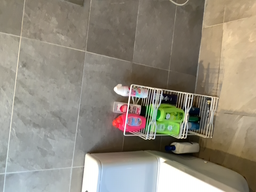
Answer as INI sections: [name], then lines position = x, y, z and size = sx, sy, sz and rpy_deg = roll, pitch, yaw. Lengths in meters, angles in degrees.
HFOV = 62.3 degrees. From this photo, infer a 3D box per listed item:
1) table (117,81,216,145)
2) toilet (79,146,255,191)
[table]
position = 0.260, 0.110, 1.310
size = 0.190, 0.610, 0.320
rpy_deg = 6, 90, 56
[toilet]
position = 0.260, 0.530, 1.060
size = 0.650, 0.810, 0.390
rpy_deg = 3, 87, 56
